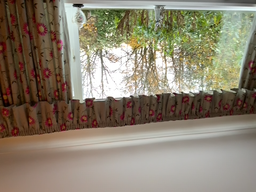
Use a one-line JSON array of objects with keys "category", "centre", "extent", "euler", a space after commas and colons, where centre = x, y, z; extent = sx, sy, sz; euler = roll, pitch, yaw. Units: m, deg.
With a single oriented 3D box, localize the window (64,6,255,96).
[{"category": "window", "centre": [0.390, -0.480, 2.270], "extent": [1.970, 0.860, 0.100], "euler": [-4, -155, -11]}]
